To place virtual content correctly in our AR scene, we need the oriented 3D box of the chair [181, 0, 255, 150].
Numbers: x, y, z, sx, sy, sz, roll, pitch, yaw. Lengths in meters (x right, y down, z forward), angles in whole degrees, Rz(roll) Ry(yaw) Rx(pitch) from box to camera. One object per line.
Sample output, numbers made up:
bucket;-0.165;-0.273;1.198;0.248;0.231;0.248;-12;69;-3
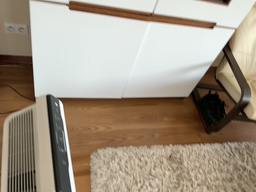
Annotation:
chair;1.020;-0.200;1.610;0.680;0.980;0.810;8;46;-14
